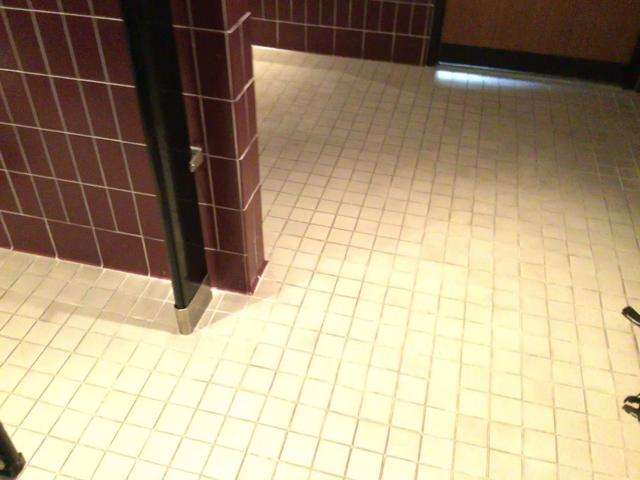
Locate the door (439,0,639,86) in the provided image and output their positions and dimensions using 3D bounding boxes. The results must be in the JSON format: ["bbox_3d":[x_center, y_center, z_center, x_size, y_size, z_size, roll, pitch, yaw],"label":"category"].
[{"bbox_3d":[1.100,-1.380,2.280,1.040,1.490,0.100,11,41,12],"label":"door"}]
